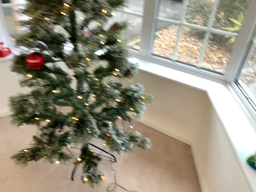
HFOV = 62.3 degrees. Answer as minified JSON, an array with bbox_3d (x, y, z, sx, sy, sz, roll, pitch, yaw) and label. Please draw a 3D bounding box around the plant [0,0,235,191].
[{"bbox_3d":[-0.080,-0.320,1.350,1.040,1.770,0.920,26,40,27],"label":"plant"}]
